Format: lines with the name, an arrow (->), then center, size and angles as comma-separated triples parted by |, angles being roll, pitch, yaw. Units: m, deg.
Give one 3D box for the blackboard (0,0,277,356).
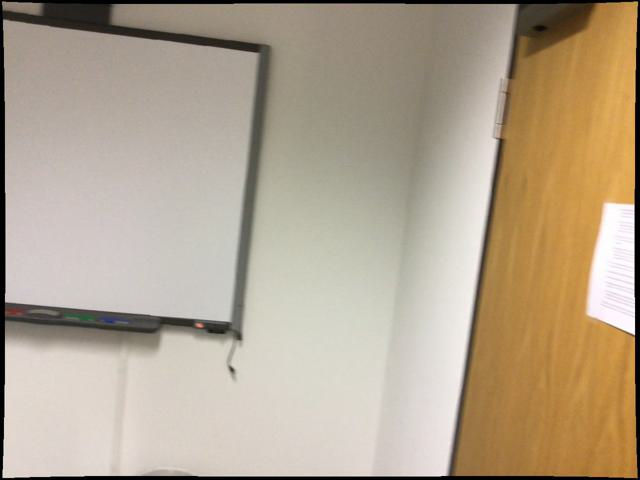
blackboard -> -1.159, -0.310, 2.450 | 1.798, 1.411, 0.240 | 6, 11, -3
